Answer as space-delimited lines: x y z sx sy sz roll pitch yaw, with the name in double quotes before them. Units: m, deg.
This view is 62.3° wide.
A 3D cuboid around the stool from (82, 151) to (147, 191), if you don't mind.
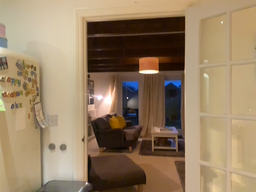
"stool" -0.250 1.140 3.180 0.800 0.340 0.920 0 0 -16
